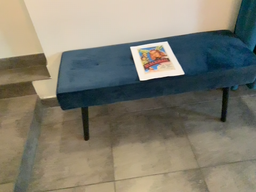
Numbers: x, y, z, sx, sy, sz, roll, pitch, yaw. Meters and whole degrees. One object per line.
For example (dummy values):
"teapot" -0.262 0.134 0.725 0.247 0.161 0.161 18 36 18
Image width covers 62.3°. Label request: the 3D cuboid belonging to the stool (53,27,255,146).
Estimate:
"stool" 0.160 -0.060 1.270 1.030 0.450 0.380 -8 44 -4
